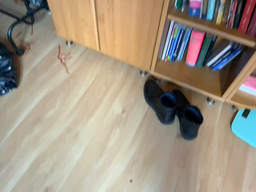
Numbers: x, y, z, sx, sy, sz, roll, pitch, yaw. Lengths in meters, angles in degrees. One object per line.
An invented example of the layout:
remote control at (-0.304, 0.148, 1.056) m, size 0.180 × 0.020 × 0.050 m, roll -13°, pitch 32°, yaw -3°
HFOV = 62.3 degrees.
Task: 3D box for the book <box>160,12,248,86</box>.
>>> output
book at (0.410, -0.260, 1.210) m, size 0.380 × 0.280 × 0.130 m, roll 24°, pitch 59°, yaw 12°
